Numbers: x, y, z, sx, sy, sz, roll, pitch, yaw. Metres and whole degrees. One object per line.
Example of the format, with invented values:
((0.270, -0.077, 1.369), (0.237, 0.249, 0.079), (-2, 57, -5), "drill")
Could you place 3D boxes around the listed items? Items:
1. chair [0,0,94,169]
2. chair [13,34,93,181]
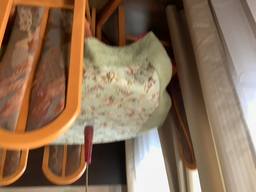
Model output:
((-0.360, -0.230, 0.990), (0.390, 1.010, 0.490), (1, 153, -10), "chair")
((-0.490, 0.080, 1.620), (0.390, 1.010, 0.470), (-1, 154, -6), "chair")
